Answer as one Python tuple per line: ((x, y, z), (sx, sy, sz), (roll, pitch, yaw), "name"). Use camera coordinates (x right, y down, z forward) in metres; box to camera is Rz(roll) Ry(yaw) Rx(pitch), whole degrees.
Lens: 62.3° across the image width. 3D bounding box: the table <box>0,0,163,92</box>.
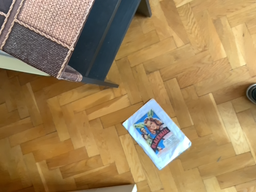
((-0.090, -0.490, 0.800), (0.370, 0.650, 0.860), (26, 95, 10), "table")
